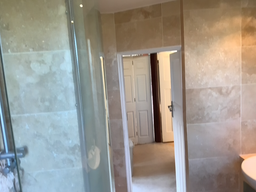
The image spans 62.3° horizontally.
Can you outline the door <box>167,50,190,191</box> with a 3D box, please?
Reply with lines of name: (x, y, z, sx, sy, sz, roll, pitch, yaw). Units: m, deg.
door: (0.550, 0.490, 2.330, 0.040, 1.890, 0.830, -4, 8, 3)
